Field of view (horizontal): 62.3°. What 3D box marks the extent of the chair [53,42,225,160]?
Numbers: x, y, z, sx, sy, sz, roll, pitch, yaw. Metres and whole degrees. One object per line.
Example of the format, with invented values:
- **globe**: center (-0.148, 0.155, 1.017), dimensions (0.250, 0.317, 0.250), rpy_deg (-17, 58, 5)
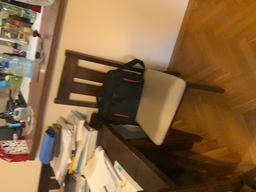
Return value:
- **chair**: center (0.090, 0.020, 1.490), dimensions (0.560, 0.980, 0.480), rpy_deg (35, 113, 48)
